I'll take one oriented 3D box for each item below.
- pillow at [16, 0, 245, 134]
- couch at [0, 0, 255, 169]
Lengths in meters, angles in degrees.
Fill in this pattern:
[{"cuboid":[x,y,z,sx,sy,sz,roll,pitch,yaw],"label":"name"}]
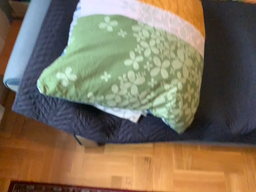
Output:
[{"cuboid":[0.030,-0.250,0.850,0.610,0.300,0.680,6,63,1],"label":"pillow"},{"cuboid":[0.650,-0.210,1.130,2.210,0.890,1.010,3,63,-1],"label":"couch"}]
